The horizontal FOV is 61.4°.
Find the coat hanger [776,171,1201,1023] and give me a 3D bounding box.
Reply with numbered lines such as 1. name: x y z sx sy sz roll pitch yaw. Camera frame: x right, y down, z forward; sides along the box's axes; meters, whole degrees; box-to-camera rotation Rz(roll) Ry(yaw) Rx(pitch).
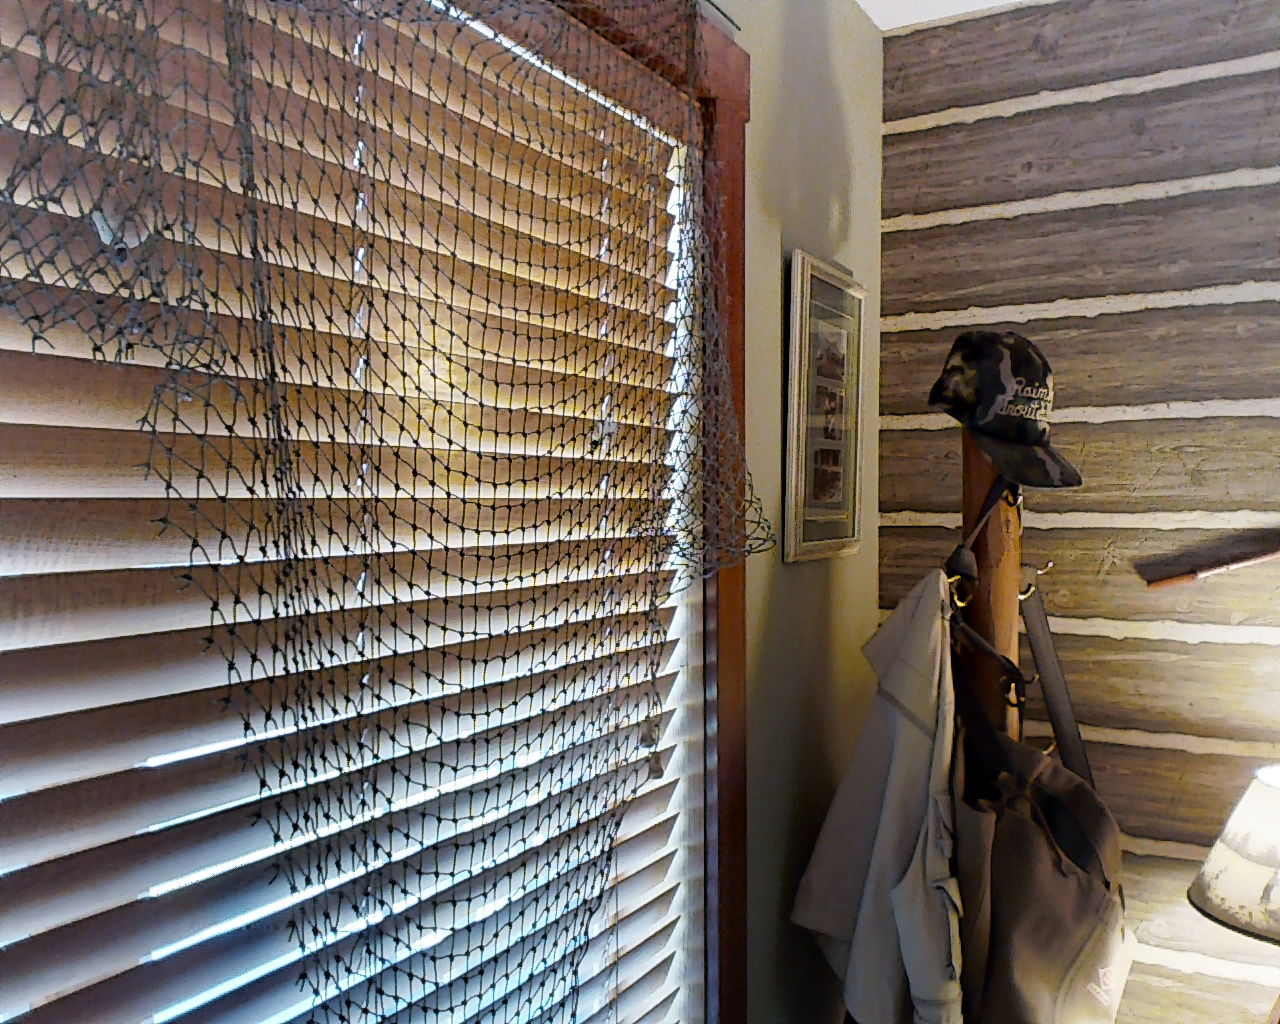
1. coat hanger: 0.540 0.580 1.550 0.450 1.900 0.620 -1 1 29
